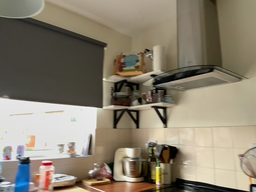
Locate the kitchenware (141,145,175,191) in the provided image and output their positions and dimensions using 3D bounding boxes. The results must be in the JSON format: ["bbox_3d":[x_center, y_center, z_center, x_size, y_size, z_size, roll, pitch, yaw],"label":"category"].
[{"bbox_3d":[0.260,0.620,1.880,0.220,0.350,0.200,9,-13,-40],"label":"kitchenware"}]
